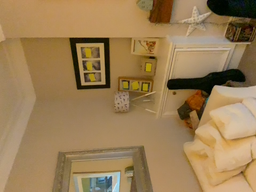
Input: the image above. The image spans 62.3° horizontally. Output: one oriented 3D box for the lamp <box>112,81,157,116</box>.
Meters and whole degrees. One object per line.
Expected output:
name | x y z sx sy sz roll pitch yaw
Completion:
lamp | 0.070 0.030 3.140 0.420 0.600 0.290 -100 10 -47
